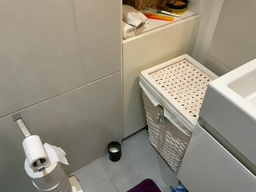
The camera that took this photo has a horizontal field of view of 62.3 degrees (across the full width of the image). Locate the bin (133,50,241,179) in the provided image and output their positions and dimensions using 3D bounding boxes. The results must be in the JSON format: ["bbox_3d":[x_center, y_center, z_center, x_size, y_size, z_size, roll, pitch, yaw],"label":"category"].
[{"bbox_3d":[0.260,0.110,1.140,0.310,0.540,0.340,-24,51,-23],"label":"bin"}]

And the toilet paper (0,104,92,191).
[{"bbox_3d":[-0.330,0.350,0.930,0.250,0.580,0.220,-23,50,-22],"label":"toilet paper"}]
